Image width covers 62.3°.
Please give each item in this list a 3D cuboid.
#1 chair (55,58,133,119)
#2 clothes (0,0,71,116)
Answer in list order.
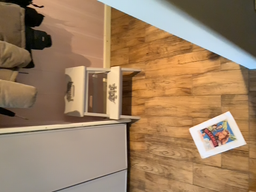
[{"bbox_3d":[-0.270,-0.040,1.800,0.310,0.580,0.430,-3,86,42],"label":"chair"},{"bbox_3d":[-0.850,-0.190,0.990,0.460,1.030,0.570,-7,84,42],"label":"clothes"}]
